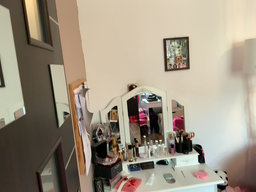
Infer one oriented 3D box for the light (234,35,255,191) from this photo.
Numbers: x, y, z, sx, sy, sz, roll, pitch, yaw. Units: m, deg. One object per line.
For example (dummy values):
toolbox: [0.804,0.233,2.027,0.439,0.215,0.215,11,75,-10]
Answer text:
light: [1.090,0.360,1.720,0.240,1.660,0.400,-5,9,-1]
